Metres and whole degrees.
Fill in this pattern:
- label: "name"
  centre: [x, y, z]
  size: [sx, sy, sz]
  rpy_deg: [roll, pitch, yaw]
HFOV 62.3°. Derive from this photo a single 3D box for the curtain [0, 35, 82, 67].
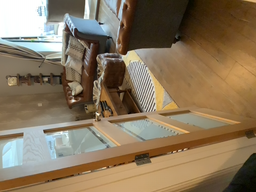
- label: "curtain"
  centre: [-1.930, -0.920, 4.410]
  size: [0.170, 1.870, 0.590]
  rpy_deg: [60, 145, 41]
